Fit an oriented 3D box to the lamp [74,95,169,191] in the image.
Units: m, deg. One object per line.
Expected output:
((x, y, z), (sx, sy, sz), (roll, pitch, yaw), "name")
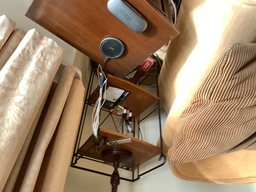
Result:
((-0.070, 0.510, 1.010), (0.370, 0.860, 0.500), (9, 139, -9), "lamp")
